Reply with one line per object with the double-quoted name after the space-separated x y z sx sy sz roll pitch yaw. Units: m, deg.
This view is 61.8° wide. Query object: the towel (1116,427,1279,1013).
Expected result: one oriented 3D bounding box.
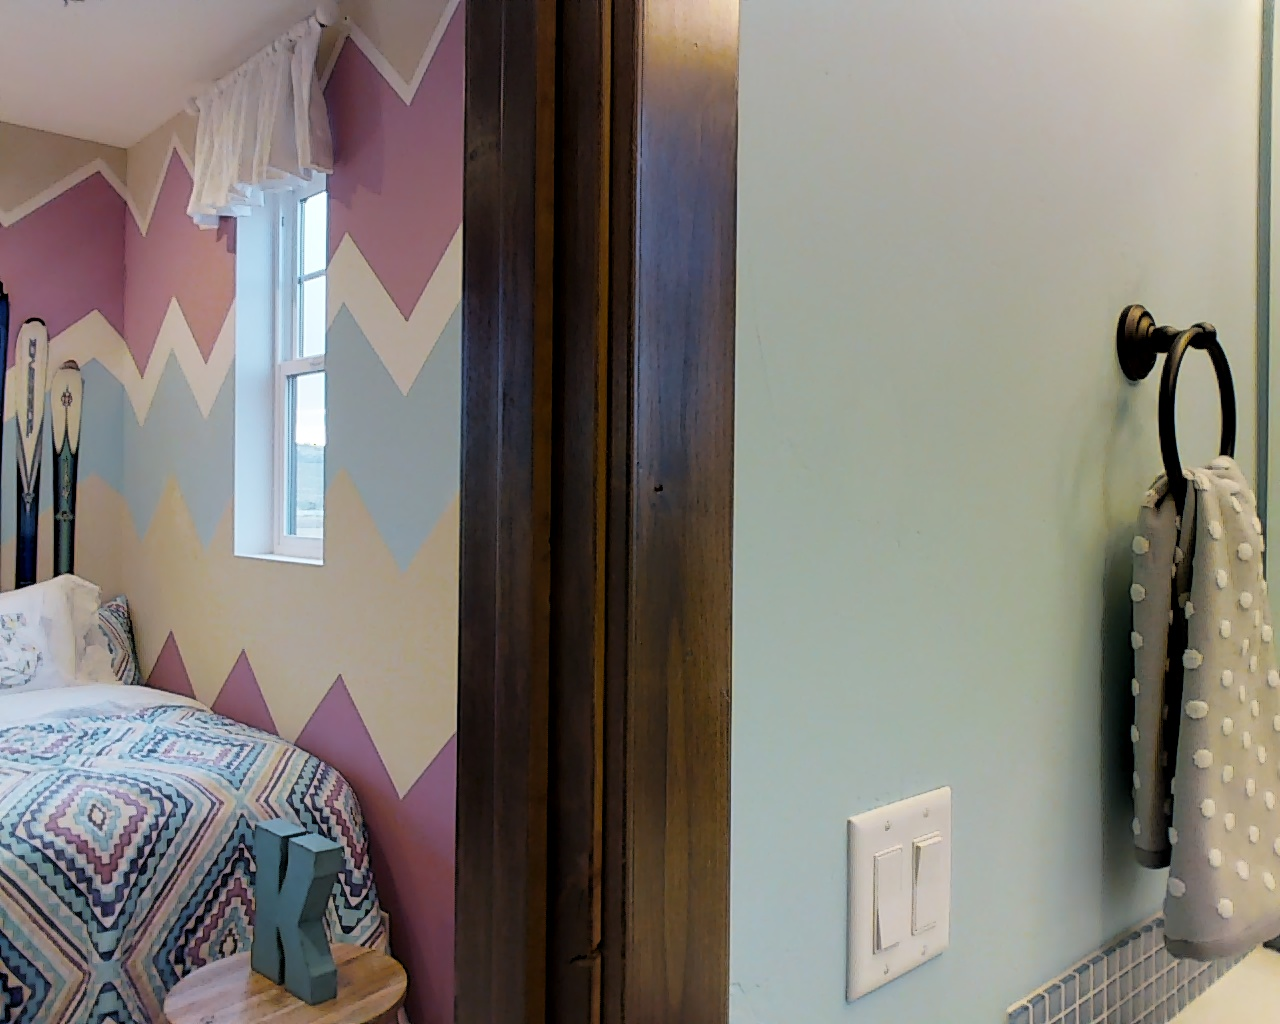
0.520 0.160 0.920 0.170 0.450 0.140 1 0 -44 "towel"
